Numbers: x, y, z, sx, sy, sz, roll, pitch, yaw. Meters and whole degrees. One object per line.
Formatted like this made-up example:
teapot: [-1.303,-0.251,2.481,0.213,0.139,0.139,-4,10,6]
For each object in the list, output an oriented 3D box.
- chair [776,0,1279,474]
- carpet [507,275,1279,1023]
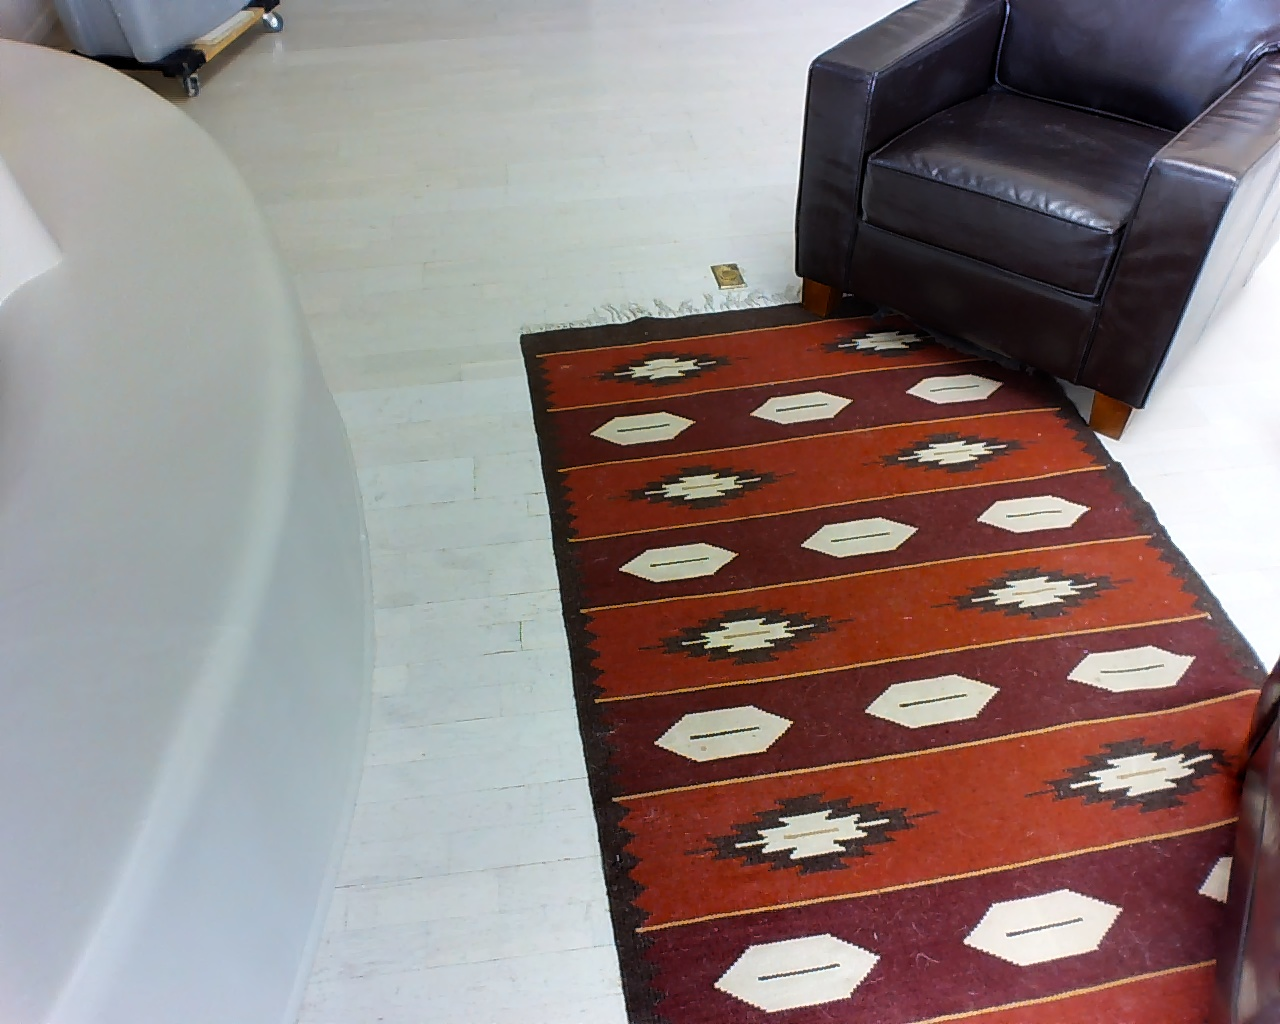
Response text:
chair: [0.990,-0.870,2.360,0.920,0.910,1.000,27,50,28]
carpet: [0.450,0.170,1.940,1.180,0.020,2.060,-8,43,-7]
